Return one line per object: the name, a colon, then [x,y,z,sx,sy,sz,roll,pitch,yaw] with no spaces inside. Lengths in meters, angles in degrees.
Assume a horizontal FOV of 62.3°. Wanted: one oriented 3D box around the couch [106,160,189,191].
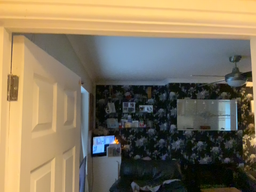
couch: [0.310,1.600,3.490,1.170,0.860,0.960,-1,-5,5]
